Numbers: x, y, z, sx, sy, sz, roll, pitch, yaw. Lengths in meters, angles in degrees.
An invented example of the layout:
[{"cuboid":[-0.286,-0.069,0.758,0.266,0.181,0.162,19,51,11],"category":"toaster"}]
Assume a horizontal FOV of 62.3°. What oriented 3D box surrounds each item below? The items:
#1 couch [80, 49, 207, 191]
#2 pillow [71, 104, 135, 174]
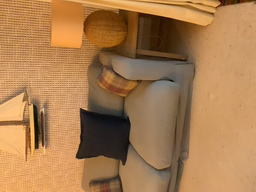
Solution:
[{"cuboid":[0.000,0.520,2.300,1.060,0.810,1.910,-145,57,-63],"category":"couch"},{"cuboid":[-0.280,0.440,2.330,0.300,0.590,0.550,-27,-54,-65],"category":"pillow"}]
